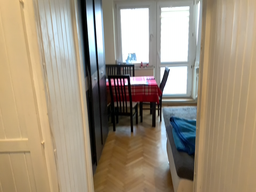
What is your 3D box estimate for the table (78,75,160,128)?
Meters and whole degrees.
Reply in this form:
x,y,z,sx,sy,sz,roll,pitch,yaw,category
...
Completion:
x,y,z,sx,sy,sz,roll,pitch,yaw,category
-0.130,0.070,4.040,1.360,0.790,0.830,-1,14,2,table
